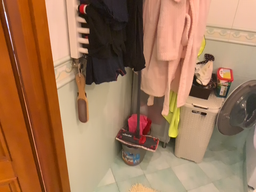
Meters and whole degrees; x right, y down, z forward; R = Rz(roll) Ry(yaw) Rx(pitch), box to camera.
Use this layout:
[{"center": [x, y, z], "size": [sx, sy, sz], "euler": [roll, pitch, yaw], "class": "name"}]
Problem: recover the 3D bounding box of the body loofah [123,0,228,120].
[{"center": [0.290, -0.590, 1.490], "size": [0.380, 1.340, 0.630], "euler": [-9, 32, -22], "class": "body loofah"}]
